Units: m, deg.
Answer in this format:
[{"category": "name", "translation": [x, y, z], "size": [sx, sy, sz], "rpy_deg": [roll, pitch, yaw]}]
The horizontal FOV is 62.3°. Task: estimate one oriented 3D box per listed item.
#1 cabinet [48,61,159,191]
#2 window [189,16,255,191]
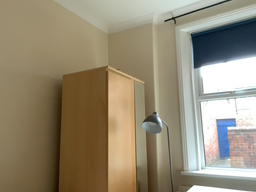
[{"category": "cabinet", "translation": [-0.220, 0.740, 2.450], "size": [0.730, 1.950, 1.080], "rpy_deg": [-7, -11, 32]}, {"category": "window", "translation": [1.270, 0.160, 2.560], "size": [0.880, 2.130, 0.170], "rpy_deg": [-6, -10, 29]}]
